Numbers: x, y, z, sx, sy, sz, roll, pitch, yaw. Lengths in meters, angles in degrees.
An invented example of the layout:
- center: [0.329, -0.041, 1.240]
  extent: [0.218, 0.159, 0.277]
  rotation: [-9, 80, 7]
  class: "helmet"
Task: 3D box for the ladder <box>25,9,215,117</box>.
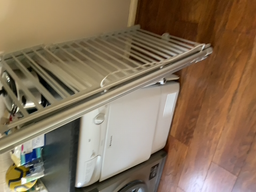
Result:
- center: [-0.040, -0.280, 1.430]
  extent: [0.760, 0.980, 0.350]
  rotation: [30, 118, 39]
  class: "ladder"
